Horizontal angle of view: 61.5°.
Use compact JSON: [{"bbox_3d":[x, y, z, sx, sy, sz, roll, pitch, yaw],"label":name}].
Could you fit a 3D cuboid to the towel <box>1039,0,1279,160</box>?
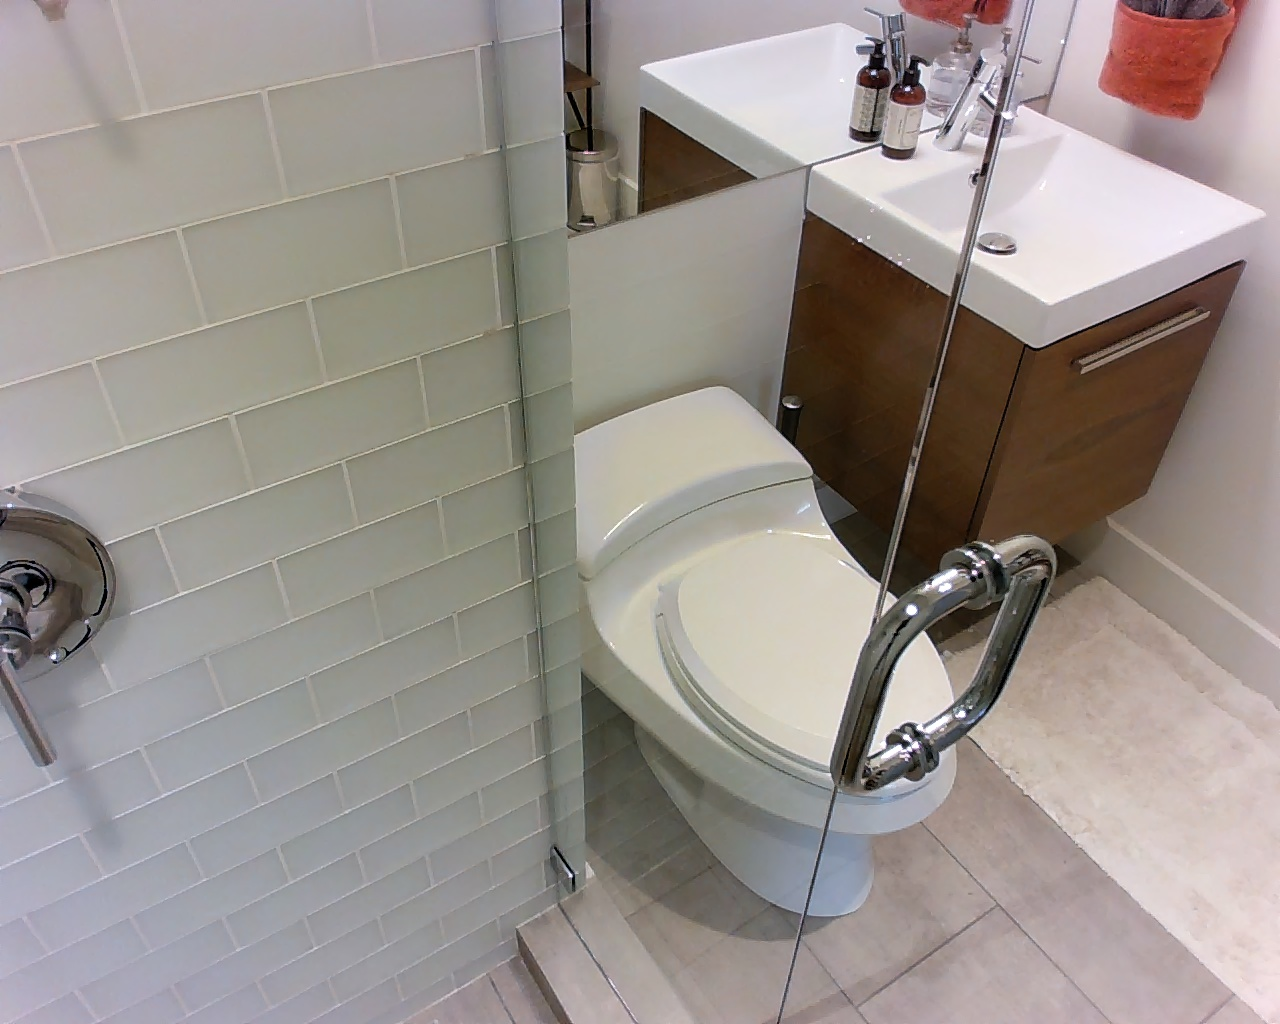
[{"bbox_3d":[0.820,-0.780,1.670,0.160,0.350,0.260,-22,47,-24],"label":"towel"}]
